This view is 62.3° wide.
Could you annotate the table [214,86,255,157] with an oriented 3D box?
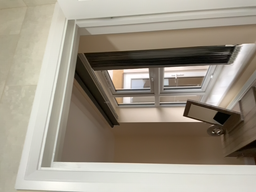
[{"bbox_3d":[1.450,0.340,2.200,1.230,0.750,0.390,71,-161,-64],"label":"table"}]
